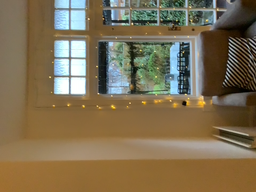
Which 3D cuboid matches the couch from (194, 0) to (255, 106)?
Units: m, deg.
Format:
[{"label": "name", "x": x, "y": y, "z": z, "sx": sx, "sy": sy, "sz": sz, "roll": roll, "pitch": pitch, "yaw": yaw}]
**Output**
[{"label": "couch", "x": 1.220, "y": -0.410, "z": 2.050, "sx": 0.890, "sy": 0.830, "sz": 0.980, "roll": 122, "pitch": 147, "yaw": -86}]
